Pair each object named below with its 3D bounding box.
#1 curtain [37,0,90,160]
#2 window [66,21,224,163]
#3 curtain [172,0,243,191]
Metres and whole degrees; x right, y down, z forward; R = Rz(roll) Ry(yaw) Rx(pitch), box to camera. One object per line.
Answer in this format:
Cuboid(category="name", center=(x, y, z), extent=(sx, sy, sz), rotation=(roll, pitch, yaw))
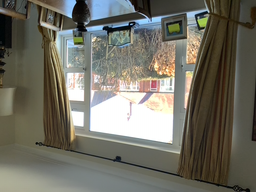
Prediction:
Cuboid(category="curtain", center=(-0.930, -0.480, 3.020), extent=(0.710, 2.590, 0.300), rotation=(3, -177, 29))
Cuboid(category="window", center=(0.040, -0.080, 2.800), extent=(2.180, 1.500, 0.120), rotation=(3, -177, 29))
Cuboid(category="curtain", center=(0.730, -0.370, 1.920), extent=(0.500, 2.550, 0.310), rotation=(3, -177, 29))
